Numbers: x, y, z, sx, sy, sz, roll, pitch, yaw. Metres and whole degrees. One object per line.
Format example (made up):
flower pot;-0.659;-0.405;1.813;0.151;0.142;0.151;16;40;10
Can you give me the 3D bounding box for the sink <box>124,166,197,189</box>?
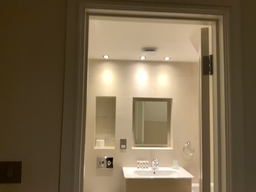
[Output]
sink;0.380;1.020;2.690;0.830;0.140;0.460;2;-4;-5
